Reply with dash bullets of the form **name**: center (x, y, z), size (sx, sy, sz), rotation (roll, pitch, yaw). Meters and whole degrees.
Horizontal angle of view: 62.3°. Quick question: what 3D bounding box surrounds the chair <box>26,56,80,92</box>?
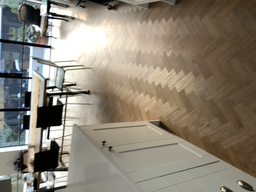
- **chair**: center (-1.420, -0.410, 4.010), size (0.460, 0.840, 0.580), rotation (21, 106, 53)

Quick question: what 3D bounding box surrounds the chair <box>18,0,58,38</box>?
- **chair**: center (-2.290, -1.970, 5.360), size (0.560, 0.790, 0.680), rotation (-59, 45, 36)
